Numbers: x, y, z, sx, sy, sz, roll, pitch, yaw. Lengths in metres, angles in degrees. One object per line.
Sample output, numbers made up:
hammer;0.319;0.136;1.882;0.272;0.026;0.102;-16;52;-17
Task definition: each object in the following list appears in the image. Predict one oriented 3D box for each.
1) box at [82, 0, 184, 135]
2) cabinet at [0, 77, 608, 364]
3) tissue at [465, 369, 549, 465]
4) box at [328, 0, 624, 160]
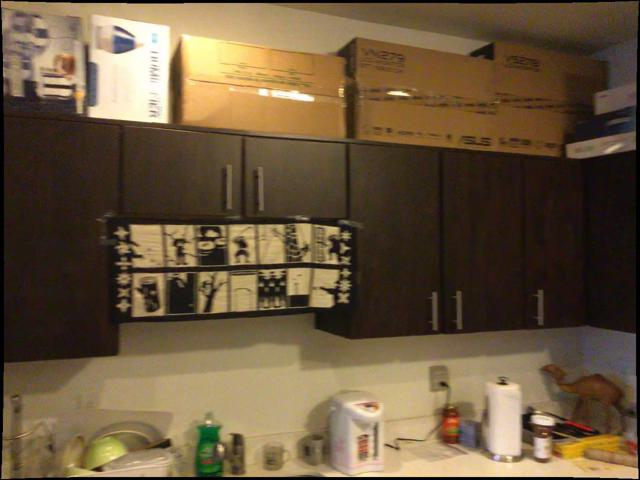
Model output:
box;-0.648;-0.601;1.980;0.299;0.411;0.340;1;2;-21
cabinet;0.000;-0.040;2.160;2.415;0.802;0.370;1;2;-21
tissue;0.748;0.702;2.330;0.200;0.291;0.250;1;2;-21
box;0.718;-0.682;2.550;1.347;0.541;0.260;1;2;-21
